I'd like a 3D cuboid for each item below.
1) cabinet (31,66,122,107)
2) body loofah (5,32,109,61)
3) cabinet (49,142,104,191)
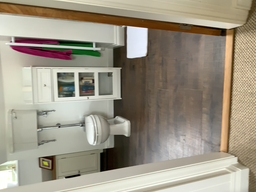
[{"bbox_3d":[-0.630,-0.130,2.670,0.340,1.070,0.440,-169,78,-65],"label":"cabinet"},{"bbox_3d":[-0.820,-0.570,2.550,0.430,1.090,0.250,-158,69,-64],"label":"body loofah"},{"bbox_3d":[-0.810,1.160,3.330,0.390,0.770,0.700,-163,73,-65],"label":"cabinet"}]
